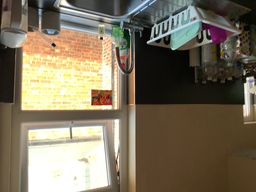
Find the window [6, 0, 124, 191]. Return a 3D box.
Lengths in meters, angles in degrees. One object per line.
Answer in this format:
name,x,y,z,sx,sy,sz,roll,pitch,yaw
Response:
window,-0.400,0.130,1.420,0.690,1.260,0.300,2,177,-32
